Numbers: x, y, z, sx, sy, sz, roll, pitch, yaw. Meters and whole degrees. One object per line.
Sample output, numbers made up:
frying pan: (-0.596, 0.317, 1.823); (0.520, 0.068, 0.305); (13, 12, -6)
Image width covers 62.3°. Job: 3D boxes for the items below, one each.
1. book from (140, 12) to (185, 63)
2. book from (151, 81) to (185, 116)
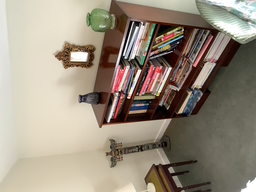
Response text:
book: (0.250, -0.440, 1.620); (0.260, 0.160, 0.270); (-115, 34, -41)
book: (0.380, 0.020, 2.060); (0.230, 0.160, 0.250); (-116, 34, -43)
